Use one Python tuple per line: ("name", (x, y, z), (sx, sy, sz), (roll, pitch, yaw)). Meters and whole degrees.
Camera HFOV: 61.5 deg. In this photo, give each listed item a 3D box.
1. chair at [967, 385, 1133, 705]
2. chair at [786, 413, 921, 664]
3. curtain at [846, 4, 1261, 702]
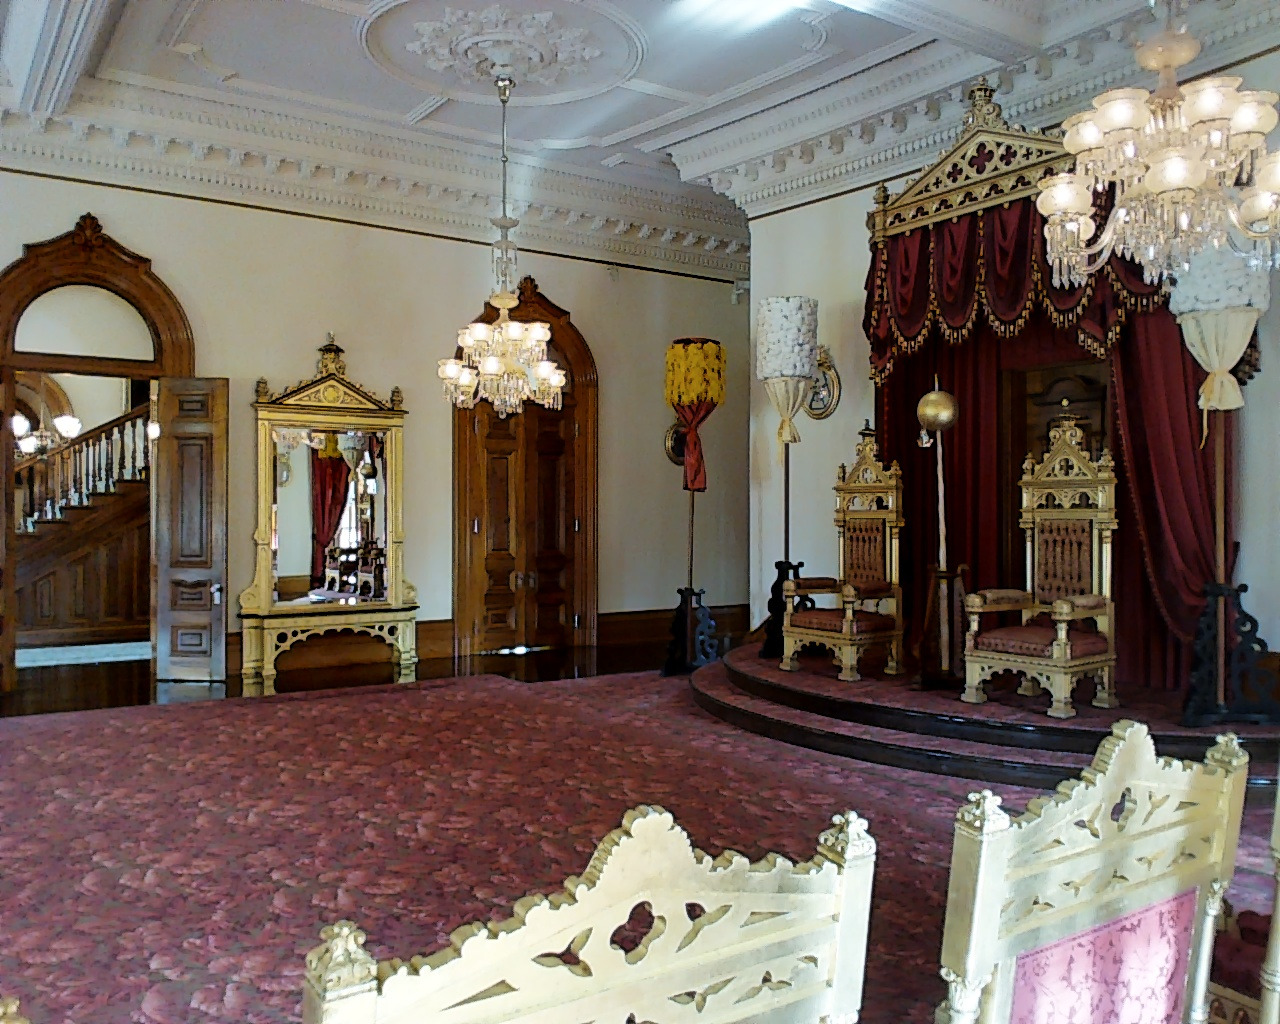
("chair", (2.680, 0.200, 7.050), (0.680, 1.950, 0.760), (0, 0, -34))
("chair", (1.680, 0.200, 8.490), (0.700, 1.860, 0.780), (0, 0, -34))
("curtain", (2.990, -1.010, 8.330), (0.690, 4.431, 3.170), (0, 0, -34))
